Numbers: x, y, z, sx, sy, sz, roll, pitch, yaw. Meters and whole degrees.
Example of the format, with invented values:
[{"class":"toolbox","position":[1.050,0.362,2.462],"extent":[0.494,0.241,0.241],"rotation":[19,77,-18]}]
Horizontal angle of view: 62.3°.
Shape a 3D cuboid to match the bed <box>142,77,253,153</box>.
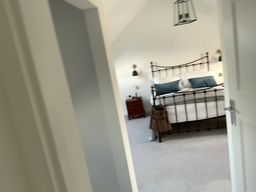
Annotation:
[{"class":"bed","position":[1.260,0.260,4.640],"extent":[1.760,0.800,2.160],"rotation":[-8,12,7]}]
